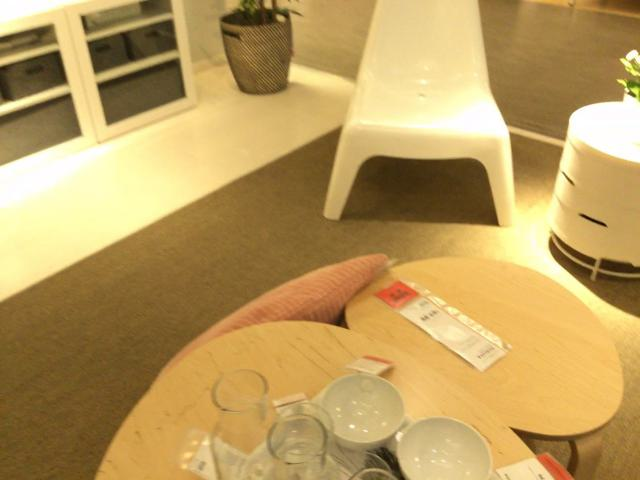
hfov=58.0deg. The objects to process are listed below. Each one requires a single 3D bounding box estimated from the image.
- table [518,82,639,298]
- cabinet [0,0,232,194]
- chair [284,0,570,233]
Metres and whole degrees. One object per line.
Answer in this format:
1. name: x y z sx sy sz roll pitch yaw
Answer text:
1. table: 0.990 -0.170 1.830 0.470 0.440 0.470 27 45 37
2. cabinet: -1.320 -0.720 2.540 0.500 0.720 1.850 27 45 37
3. chair: 0.380 -0.600 2.300 0.830 0.710 0.970 1 35 7
